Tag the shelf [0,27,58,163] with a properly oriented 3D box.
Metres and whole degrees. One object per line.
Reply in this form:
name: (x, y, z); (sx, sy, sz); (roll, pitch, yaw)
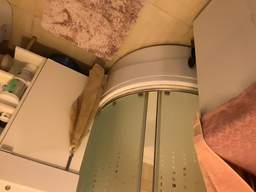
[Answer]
shelf: (-0.730, -0.010, 1.350); (0.200, 0.830, 0.400); (24, 138, -17)
